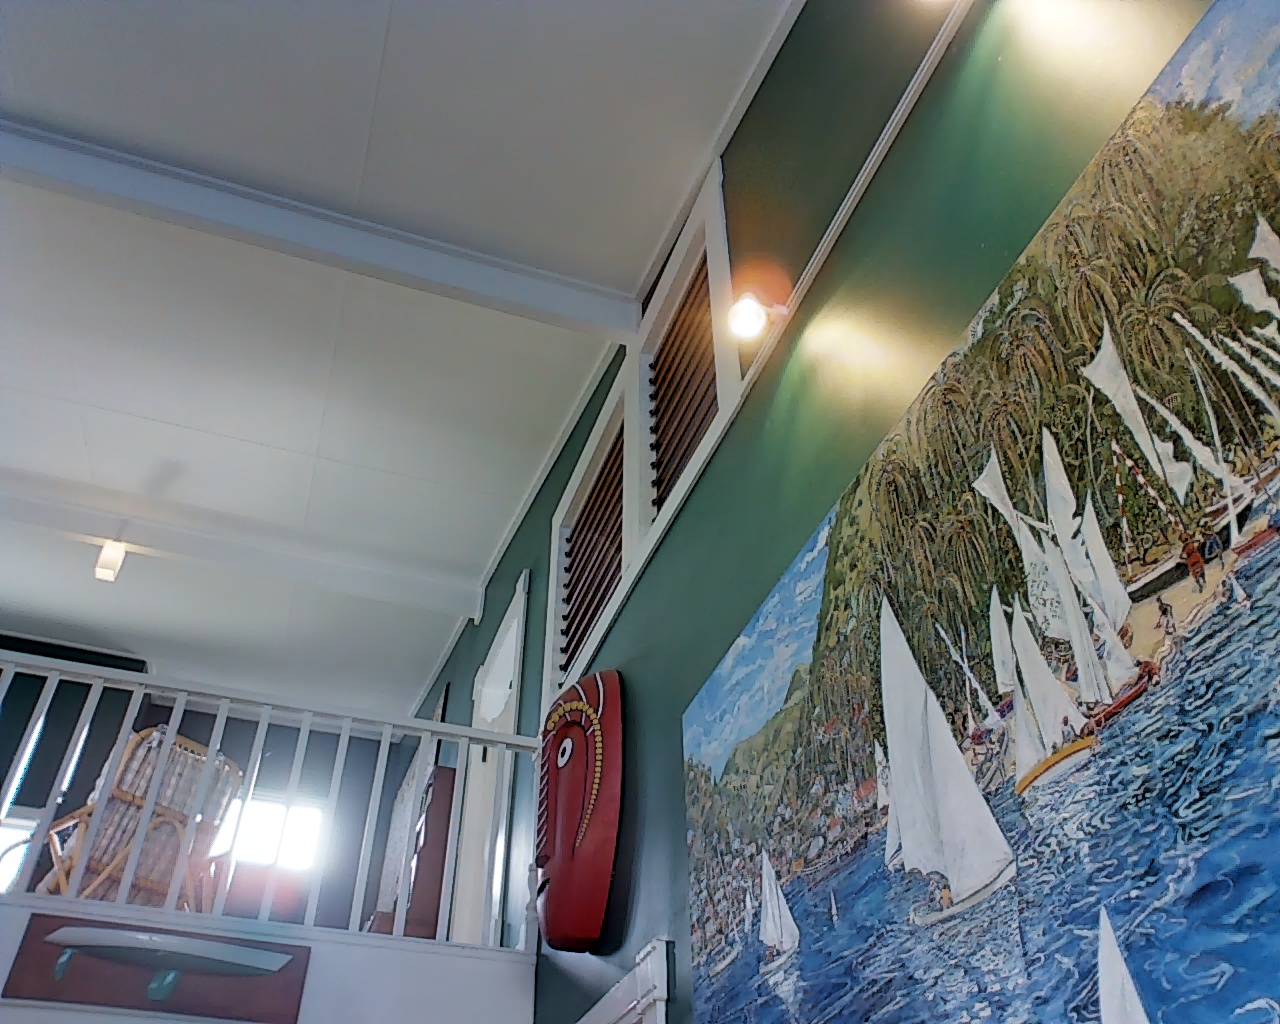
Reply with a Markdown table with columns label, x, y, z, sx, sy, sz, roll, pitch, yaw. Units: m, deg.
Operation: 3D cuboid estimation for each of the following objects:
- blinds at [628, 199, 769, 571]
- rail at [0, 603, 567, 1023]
| label | x | y | z | sx | sy | sz | roll | pitch | yaw |
| --- | --- | --- | --- | --- | --- | --- | --- | --- | --- |
| blinds | 0.170 | -0.460 | 3.780 | 0.190 | 1.090 | 0.750 | 13 | -43 | -14 |
| rail | -2.528 | 0.861 | 3.430 | 4.608 | 1.260 | 0.380 | 13 | -43 | -15 |
